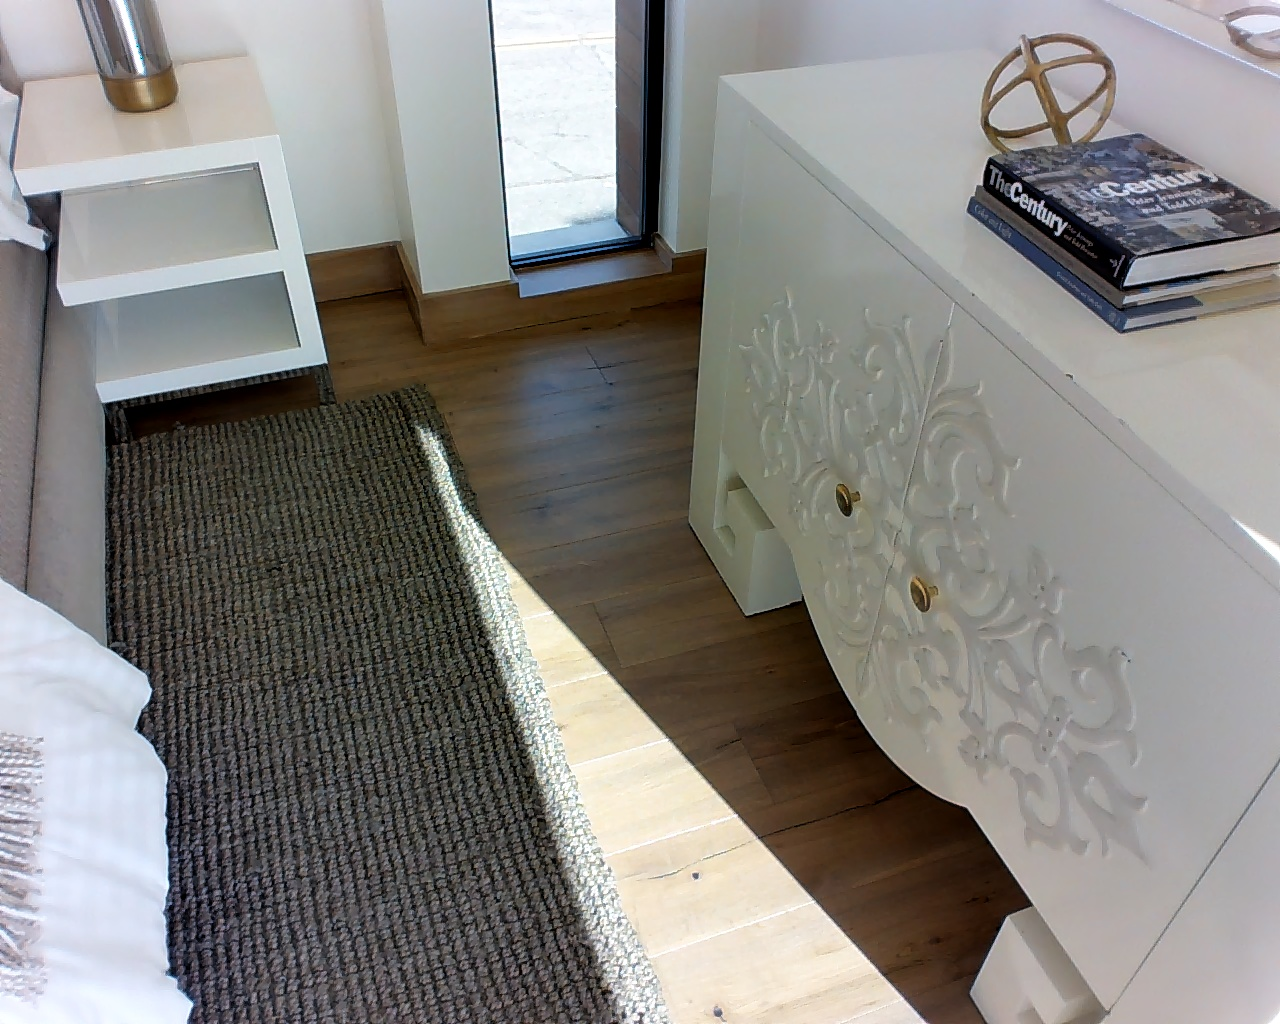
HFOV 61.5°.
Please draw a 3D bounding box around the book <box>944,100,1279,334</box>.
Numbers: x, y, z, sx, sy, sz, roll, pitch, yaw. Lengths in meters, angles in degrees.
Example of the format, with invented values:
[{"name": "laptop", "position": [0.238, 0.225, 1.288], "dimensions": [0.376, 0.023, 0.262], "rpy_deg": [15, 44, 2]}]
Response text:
[{"name": "book", "position": [0.590, -0.370, 1.300], "dimensions": [0.280, 0.100, 0.340], "rpy_deg": [-13, 44, -15]}]
